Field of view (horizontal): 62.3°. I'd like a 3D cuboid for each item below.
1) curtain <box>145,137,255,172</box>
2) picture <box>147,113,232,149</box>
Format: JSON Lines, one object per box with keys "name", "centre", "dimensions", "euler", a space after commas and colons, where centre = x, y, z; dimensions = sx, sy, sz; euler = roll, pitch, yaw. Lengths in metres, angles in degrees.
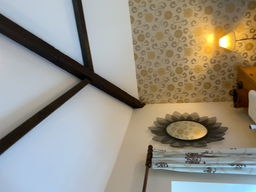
{"name": "curtain", "centre": [1.170, 0.500, 1.840], "dimensions": [0.330, 2.010, 0.130], "euler": [-64, -31, -67]}
{"name": "picture", "centre": [0.690, 0.400, 2.560], "dimensions": [0.750, 0.860, 0.020], "euler": [-67, -28, -65]}
